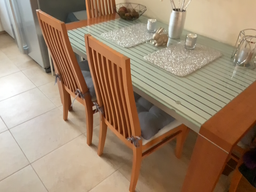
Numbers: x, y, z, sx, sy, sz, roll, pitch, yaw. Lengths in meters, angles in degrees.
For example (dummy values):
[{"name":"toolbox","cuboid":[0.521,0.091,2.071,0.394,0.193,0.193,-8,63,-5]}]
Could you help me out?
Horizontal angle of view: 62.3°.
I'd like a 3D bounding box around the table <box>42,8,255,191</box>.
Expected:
[{"name":"table","cuboid":[0.180,-0.040,1.640,0.890,0.760,1.480,-29,47,-34]}]
